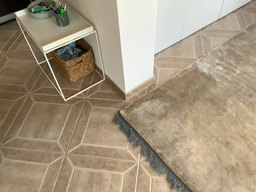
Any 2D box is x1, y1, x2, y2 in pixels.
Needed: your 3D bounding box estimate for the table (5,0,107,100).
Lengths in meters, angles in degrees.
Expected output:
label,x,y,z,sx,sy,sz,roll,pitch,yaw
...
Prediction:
label,x,y,z,sx,sy,sz,roll,pitch,yaw
table,-0.620,-0.480,1.860,0.430,0.510,0.820,-31,55,-21
